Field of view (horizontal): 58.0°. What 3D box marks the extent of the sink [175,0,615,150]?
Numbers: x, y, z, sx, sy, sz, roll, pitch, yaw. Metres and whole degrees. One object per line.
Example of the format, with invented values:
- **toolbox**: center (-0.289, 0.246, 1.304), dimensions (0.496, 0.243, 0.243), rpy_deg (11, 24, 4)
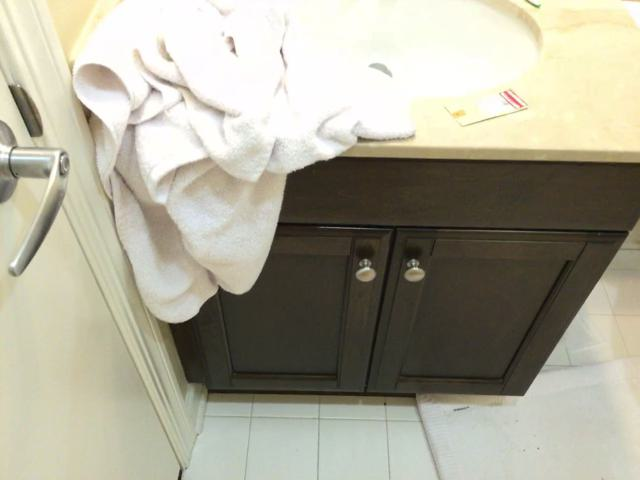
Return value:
- **sink**: center (0.100, -0.350, 0.940), dimensions (0.560, 0.220, 0.360), rpy_deg (1, 48, 2)
